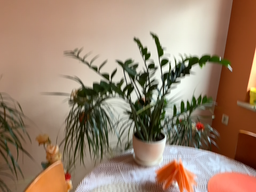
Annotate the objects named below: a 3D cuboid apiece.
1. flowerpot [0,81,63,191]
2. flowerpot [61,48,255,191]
[{"bbox_3d":[-0.780,0.520,1.410,0.610,1.090,0.680,-4,18,-21],"label":"flowerpot"},{"bbox_3d":[0.190,0.270,1.670,1.240,1.190,0.780,-5,18,-22],"label":"flowerpot"}]
